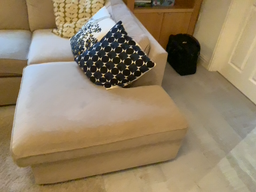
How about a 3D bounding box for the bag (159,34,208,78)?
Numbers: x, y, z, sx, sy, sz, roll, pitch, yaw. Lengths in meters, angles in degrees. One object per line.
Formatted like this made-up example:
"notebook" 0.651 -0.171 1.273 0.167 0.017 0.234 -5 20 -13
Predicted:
"bag" 0.610 -0.470 2.410 0.310 0.310 0.430 -6 40 -17
